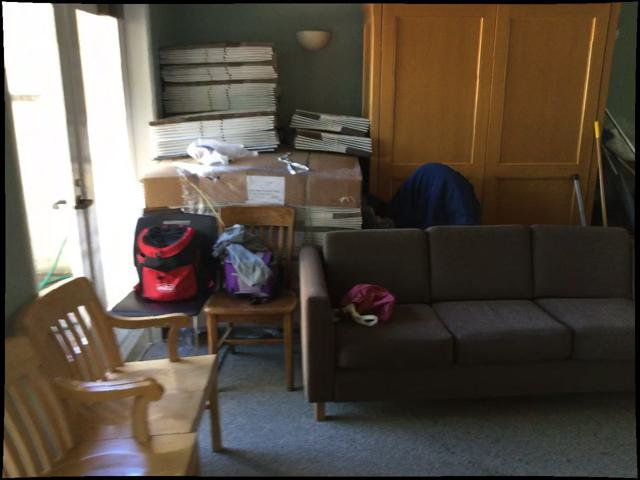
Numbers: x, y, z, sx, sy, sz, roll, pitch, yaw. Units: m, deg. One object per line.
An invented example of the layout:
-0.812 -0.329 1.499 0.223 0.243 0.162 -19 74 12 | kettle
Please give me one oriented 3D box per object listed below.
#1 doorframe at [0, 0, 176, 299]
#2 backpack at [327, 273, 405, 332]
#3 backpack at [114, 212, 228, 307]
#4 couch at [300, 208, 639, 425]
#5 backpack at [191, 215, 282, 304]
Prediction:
-1.079 -0.651 2.720 0.300 1.211 1.830 -1 18 -1 | doorframe
0.210 0.290 2.770 0.340 0.150 0.340 -1 18 -1 | backpack
-0.759 0.090 3.050 0.470 0.370 0.420 -1 18 -1 | backpack
0.879 0.320 2.910 1.928 0.731 0.900 -1 18 -1 | couch
-0.420 0.090 3.030 0.410 0.350 0.380 -1 18 -1 | backpack
